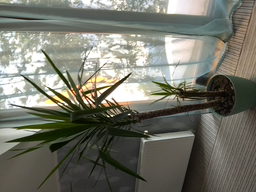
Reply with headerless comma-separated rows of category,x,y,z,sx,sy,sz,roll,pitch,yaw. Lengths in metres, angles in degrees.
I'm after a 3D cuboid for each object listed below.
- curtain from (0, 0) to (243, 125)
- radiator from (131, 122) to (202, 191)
curtain,-0.190,-0.620,1.700,0.280,2.330,1.680,-122,33,-58
radiator,0.420,0.990,2.660,0.180,0.680,1.390,-123,34,-59
